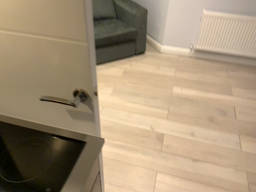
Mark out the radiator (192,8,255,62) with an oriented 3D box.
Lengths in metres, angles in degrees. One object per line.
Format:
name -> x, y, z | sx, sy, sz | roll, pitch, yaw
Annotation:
radiator -> 1.480, -0.710, 2.610 | 1.240, 0.550, 0.080 | 11, 40, 9
